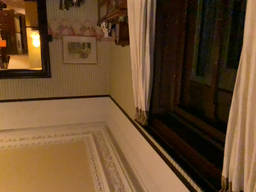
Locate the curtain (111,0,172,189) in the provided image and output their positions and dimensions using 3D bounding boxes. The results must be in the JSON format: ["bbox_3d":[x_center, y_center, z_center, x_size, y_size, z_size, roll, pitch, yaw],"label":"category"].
[{"bbox_3d":[0.130,-0.480,2.530,0.560,3.270,0.420,-2,-165,-14],"label":"curtain"}]
